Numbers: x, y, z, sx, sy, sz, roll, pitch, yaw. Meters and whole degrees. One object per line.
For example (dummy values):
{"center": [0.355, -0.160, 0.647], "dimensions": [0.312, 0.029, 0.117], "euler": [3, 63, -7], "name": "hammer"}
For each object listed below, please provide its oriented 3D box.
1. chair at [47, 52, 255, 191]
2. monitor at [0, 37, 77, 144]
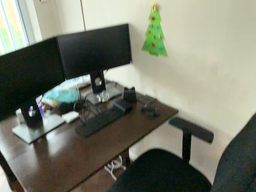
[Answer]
{"center": [0.220, 0.470, 1.030], "dimensions": [0.740, 1.090, 0.640], "euler": [-25, 36, -34], "name": "chair"}
{"center": [-0.470, -0.050, 1.170], "dimensions": [0.030, 0.430, 0.460], "euler": [11, 32, 23], "name": "monitor"}
